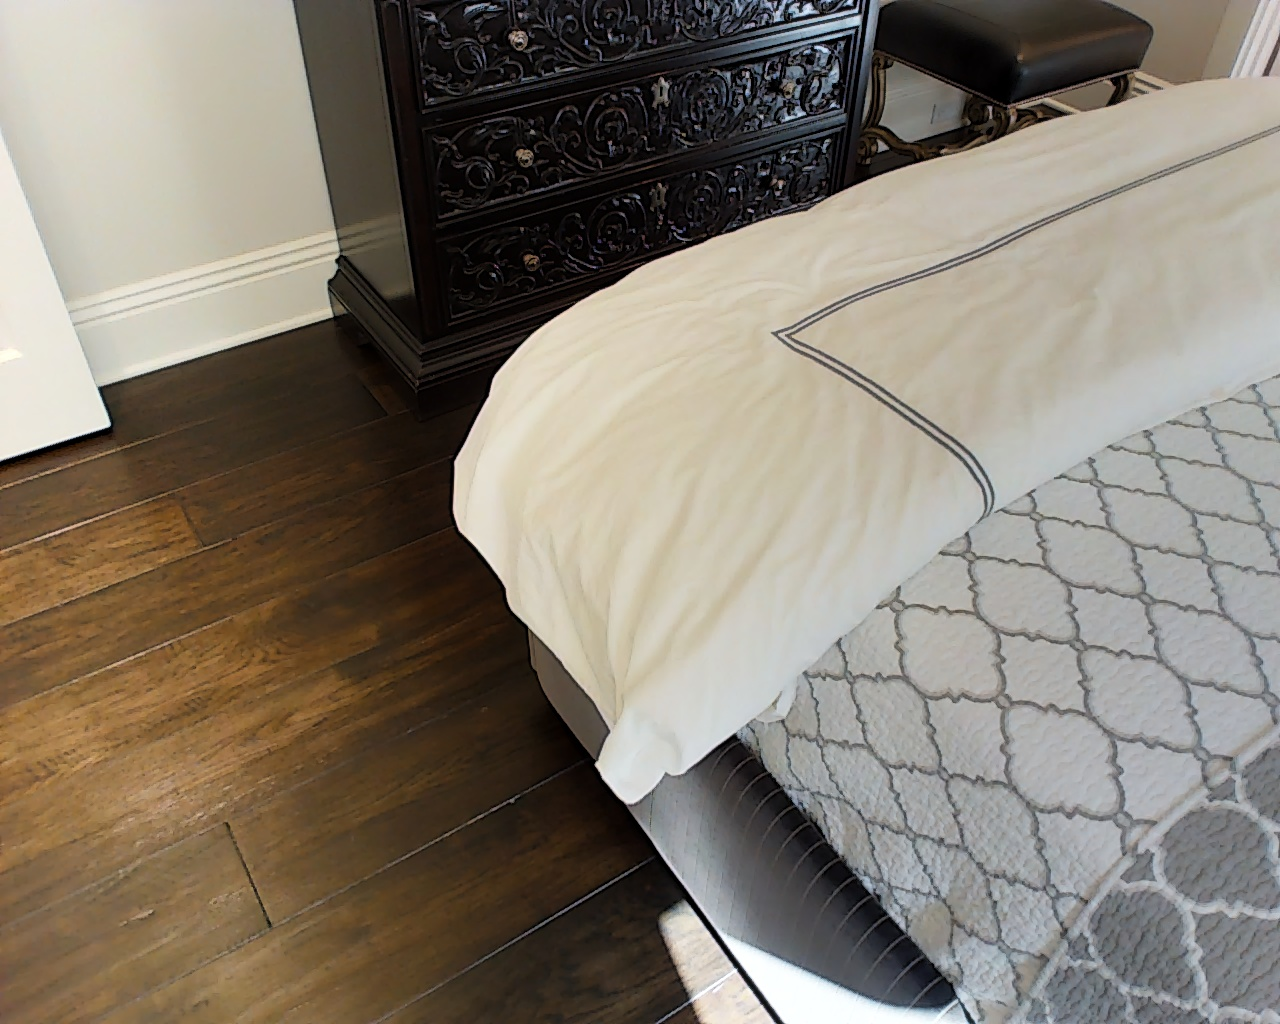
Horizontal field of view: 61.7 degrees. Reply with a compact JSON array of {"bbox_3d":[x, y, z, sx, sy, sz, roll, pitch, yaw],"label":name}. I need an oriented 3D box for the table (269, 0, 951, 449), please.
[{"bbox_3d":[-0.030,-0.950,2.510,1.380,1.030,0.620,-24,48,-25],"label":"table"}]

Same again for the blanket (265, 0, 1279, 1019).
[{"bbox_3d":[0.680,-0.290,1.630,2.170,0.520,0.770,-25,48,-25],"label":"blanket"}]

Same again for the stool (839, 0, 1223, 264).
[{"bbox_3d":[1.130,-1.250,3.230,0.690,0.590,0.690,-23,48,-24],"label":"stool"}]
